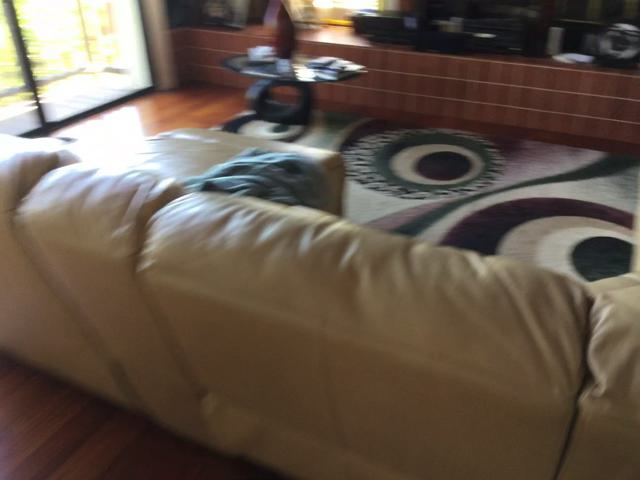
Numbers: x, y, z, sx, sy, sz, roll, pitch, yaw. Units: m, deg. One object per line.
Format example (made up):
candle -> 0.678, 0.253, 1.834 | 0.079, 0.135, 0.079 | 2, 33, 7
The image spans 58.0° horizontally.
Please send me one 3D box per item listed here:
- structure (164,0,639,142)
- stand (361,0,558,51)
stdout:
structure -> 0.920, -1.450, 4.450 | 4.550, 0.710, 0.850 | 13, 36, 24
stand -> 1.050, -1.790, 4.340 | 1.300, 0.460, 0.710 | 13, 36, 24
